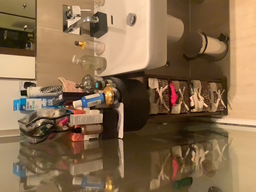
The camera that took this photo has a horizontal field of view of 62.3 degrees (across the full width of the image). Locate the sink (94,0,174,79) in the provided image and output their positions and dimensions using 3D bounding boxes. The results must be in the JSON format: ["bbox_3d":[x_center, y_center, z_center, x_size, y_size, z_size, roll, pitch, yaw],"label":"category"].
[{"bbox_3d":[0.000,-0.410,1.070,0.500,0.130,0.610,0,90,55],"label":"sink"}]
